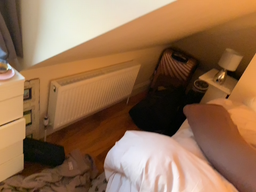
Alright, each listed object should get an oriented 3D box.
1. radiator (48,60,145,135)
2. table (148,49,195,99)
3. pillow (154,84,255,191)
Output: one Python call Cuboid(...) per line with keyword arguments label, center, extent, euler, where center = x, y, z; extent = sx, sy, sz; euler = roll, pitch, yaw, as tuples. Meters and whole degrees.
Cuboid(label="radiator", center=(-0.240, -0.030, 1.970), extent=(0.080, 0.470, 1.030), euler=(36, 36, 26))
Cuboid(label="table", center=(0.550, -0.290, 2.740), extent=(0.380, 0.480, 0.250), euler=(31, 34, 19))
Cuboid(label="pillow", center=(0.760, 0.250, 1.240), extent=(0.880, 0.150, 0.920), euler=(-1, 37, -29))
